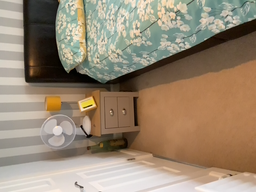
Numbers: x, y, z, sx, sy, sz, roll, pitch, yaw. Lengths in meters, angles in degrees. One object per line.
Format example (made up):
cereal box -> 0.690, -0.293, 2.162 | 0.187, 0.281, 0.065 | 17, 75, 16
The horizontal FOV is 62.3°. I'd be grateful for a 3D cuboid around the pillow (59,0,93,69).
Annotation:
pillow -> -0.510, -0.670, 2.010 | 0.500, 0.170, 0.720 | -9, 82, 60
